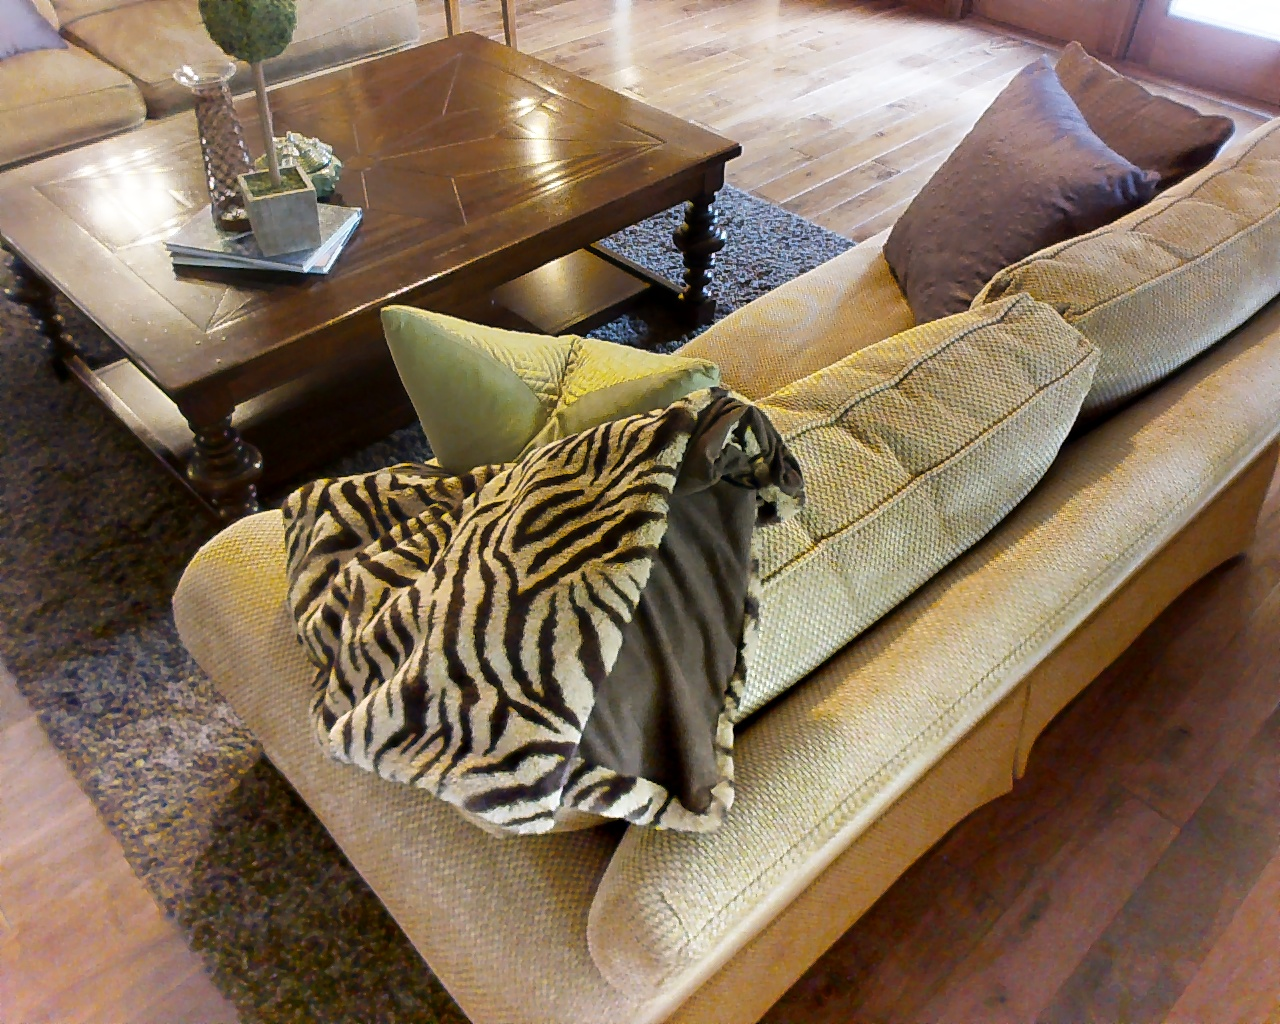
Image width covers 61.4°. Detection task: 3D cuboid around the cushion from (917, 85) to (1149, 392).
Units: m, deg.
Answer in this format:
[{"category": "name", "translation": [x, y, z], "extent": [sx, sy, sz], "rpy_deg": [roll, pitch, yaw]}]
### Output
[{"category": "cushion", "translation": [0.660, -0.500, 1.900], "extent": [0.240, 0.420, 0.490], "rpy_deg": [-5, 24, 5]}]

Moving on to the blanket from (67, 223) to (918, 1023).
[{"category": "blanket", "translation": [-0.170, 0.100, 1.150], "extent": [0.650, 0.490, 0.480], "rpy_deg": [32, 35, 15]}]

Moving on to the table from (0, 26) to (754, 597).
[{"category": "table", "translation": [-0.620, -0.610, 2.600], "extent": [1.440, 0.510, 1.050], "rpy_deg": [-32, 52, -31]}]
